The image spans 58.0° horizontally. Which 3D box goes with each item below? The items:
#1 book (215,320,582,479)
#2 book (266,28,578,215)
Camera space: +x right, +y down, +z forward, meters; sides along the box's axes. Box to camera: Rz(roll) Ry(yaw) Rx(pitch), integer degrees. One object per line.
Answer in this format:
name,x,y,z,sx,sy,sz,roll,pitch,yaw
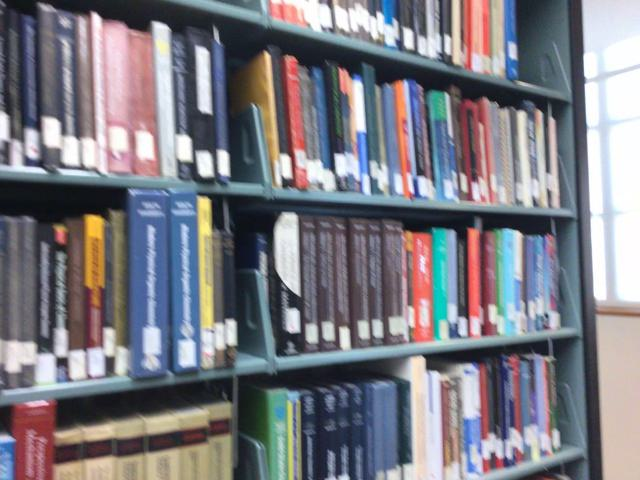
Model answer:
book,0.230,0.390,1.300,0.900,0.330,0.200,-1,-5,-35
book,0.280,-0.220,1.290,0.850,0.310,0.090,-1,-5,-35
